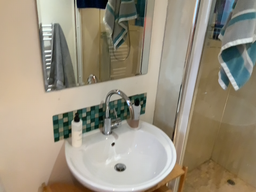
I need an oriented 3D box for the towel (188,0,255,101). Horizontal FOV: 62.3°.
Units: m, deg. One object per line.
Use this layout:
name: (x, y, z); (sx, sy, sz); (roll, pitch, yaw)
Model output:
towel: (0.440, -0.310, 0.880); (0.160, 0.610, 0.210); (-16, 31, -37)
